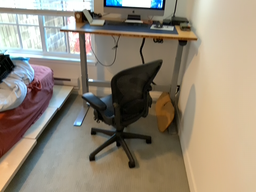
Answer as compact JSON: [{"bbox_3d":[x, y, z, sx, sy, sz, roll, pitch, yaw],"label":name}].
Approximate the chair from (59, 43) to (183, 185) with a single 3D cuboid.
[{"bbox_3d":[-0.090,0.090,2.010,0.730,0.920,0.760,-20,36,-36],"label":"chair"}]
